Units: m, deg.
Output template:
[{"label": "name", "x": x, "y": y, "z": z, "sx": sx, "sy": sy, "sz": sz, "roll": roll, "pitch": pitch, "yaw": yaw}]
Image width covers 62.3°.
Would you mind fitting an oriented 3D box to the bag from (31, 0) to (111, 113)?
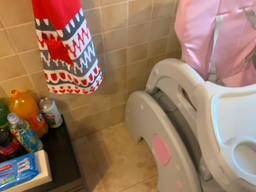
[{"label": "bag", "x": -0.170, "y": -0.210, "z": 0.670, "sx": 0.180, "sy": 0.740, "sz": 0.100, "roll": -15, "pitch": 55, "yaw": -13}]
